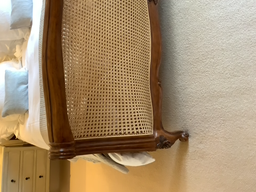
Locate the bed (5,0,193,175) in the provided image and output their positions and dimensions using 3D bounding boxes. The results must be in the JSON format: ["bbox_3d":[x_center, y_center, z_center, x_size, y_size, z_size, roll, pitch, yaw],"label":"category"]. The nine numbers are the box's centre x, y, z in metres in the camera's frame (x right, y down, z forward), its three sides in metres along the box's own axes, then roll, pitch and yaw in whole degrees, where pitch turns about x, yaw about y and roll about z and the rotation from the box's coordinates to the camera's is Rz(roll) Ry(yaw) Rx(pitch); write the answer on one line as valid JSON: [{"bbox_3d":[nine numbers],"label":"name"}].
[{"bbox_3d":[-0.640,-0.570,2.130,2.450,0.690,2.080,-11,78,54],"label":"bed"}]
